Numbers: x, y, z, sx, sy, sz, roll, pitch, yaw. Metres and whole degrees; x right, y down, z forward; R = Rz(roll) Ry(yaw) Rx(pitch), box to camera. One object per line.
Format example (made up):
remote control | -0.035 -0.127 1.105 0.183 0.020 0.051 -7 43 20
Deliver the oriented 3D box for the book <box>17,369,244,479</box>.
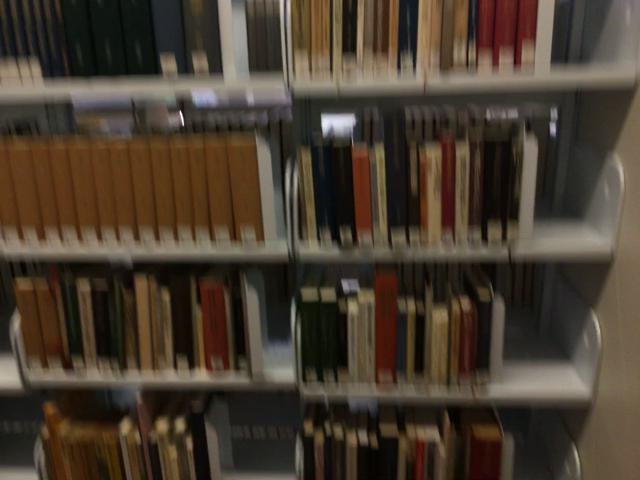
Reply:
book | -0.430 0.480 1.390 0.450 0.250 0.220 0 16 2

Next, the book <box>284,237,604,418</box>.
book | 0.240 0.180 1.260 0.610 0.320 0.220 0 16 2

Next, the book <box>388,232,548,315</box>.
book | 0.390 0.090 1.560 0.400 0.210 0.070 0 16 2

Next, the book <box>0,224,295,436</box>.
book | -0.370 0.190 1.300 0.600 0.400 0.240 0 16 2

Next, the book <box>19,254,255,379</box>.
book | -0.380 0.160 1.270 0.440 0.210 0.190 0 16 2

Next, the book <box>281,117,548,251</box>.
book | 0.170 -0.120 1.150 0.470 0.230 0.200 0 16 2

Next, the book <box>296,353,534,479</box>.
book | 0.200 0.460 1.350 0.490 0.300 0.240 0 16 2
